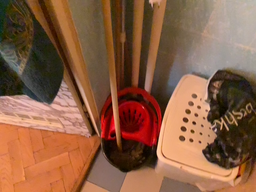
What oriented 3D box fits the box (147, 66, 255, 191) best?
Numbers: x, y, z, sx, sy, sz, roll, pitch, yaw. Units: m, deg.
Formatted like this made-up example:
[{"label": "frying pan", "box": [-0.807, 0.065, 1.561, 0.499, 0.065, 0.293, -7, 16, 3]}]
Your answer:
[{"label": "box", "box": [0.350, 0.220, 0.990, 0.360, 0.540, 0.380, 20, 63, 9]}]
